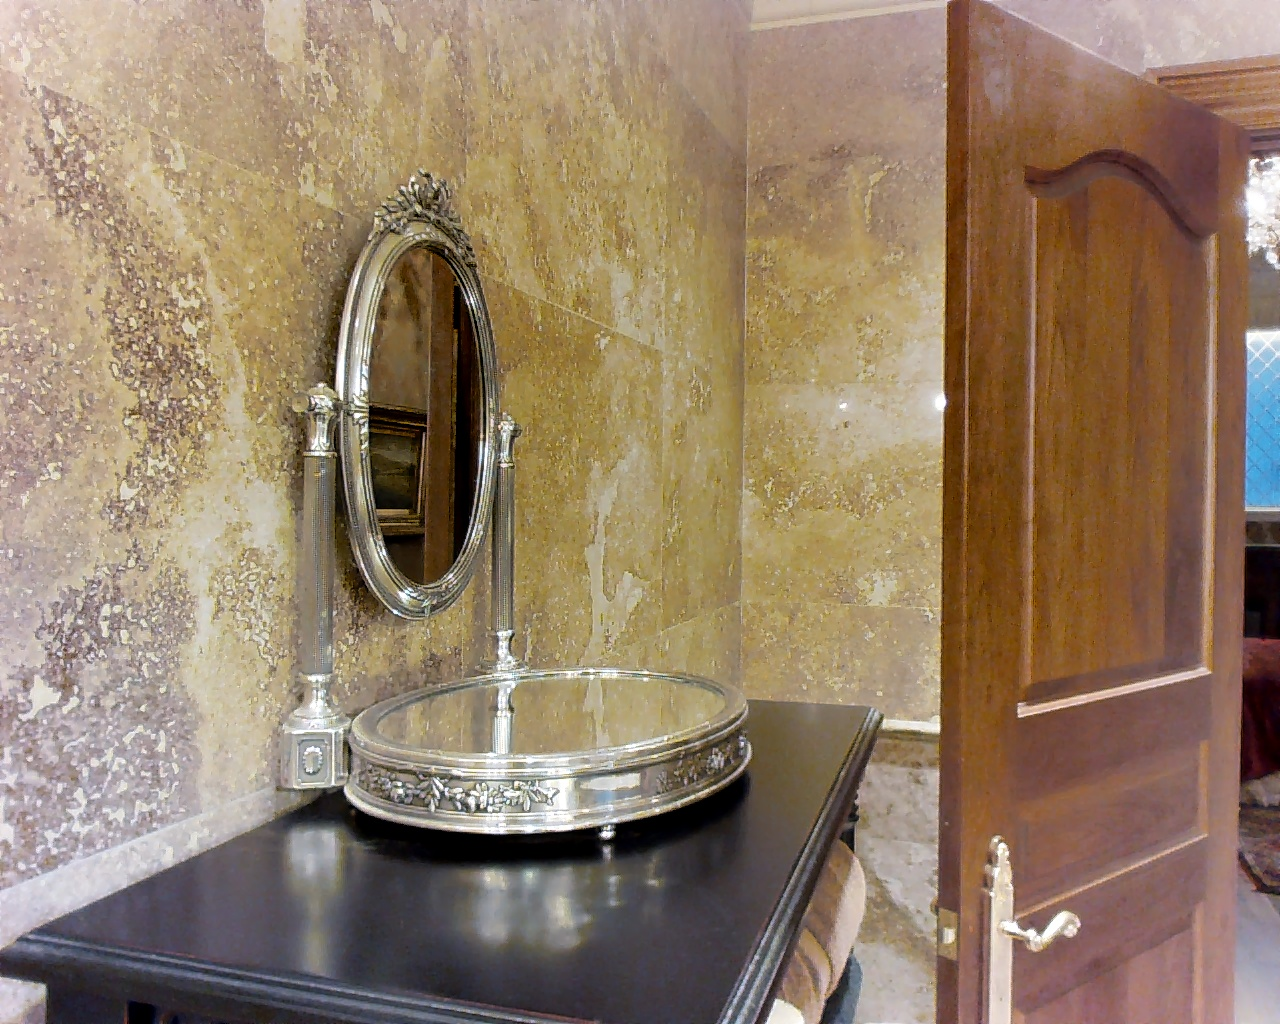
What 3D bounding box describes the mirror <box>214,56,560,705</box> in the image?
[{"bbox_3d":[-0.170,-0.080,0.840,0.060,0.390,0.390,1,1,19],"label":"mirror"}]
